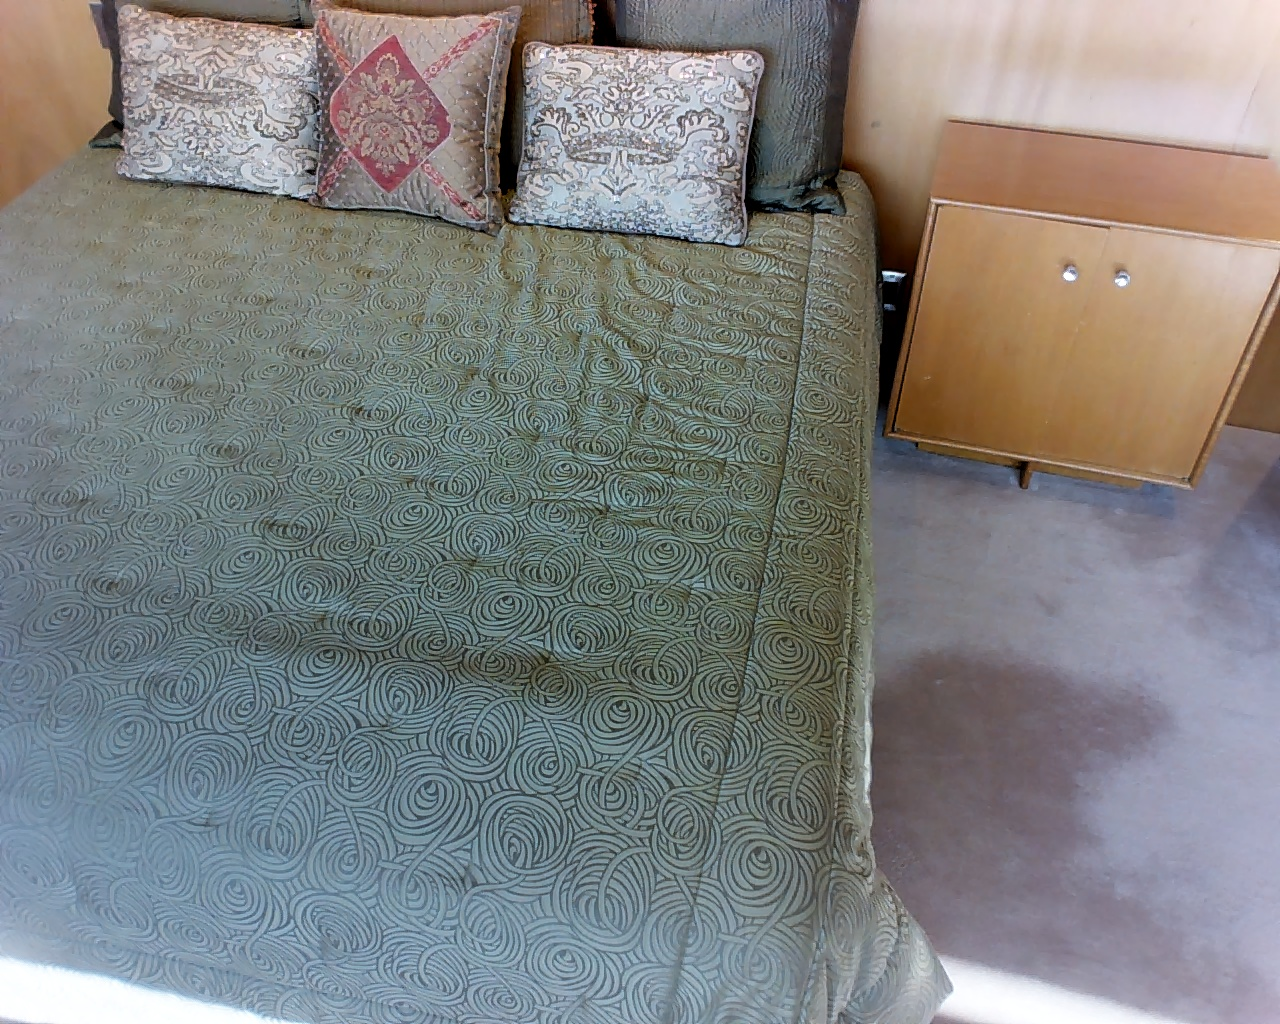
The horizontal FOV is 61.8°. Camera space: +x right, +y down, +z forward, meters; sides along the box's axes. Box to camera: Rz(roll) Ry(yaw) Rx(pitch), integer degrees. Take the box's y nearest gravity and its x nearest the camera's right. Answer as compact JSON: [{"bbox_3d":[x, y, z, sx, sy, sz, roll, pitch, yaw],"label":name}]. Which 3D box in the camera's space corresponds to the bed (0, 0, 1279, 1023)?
[{"bbox_3d":[-0.580,-0.280,1.940,2.369,1.200,2.270,6,41,7],"label":"bed"}]

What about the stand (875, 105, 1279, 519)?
[{"bbox_3d":[1.010,-0.470,2.500,0.760,0.720,0.470,10,42,12],"label":"stand"}]
